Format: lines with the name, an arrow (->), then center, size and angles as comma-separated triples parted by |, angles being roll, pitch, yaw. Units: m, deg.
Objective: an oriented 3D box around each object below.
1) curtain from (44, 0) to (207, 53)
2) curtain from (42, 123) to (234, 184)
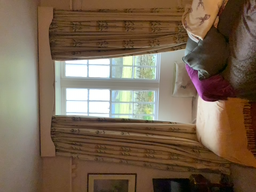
curtain -> -0.020, -0.890, 2.730 | 0.180, 2.010, 0.570 | -123, 35, -83
curtain -> 0.140, 0.800, 2.970 | 0.390, 2.480, 0.710 | -116, 28, -82
